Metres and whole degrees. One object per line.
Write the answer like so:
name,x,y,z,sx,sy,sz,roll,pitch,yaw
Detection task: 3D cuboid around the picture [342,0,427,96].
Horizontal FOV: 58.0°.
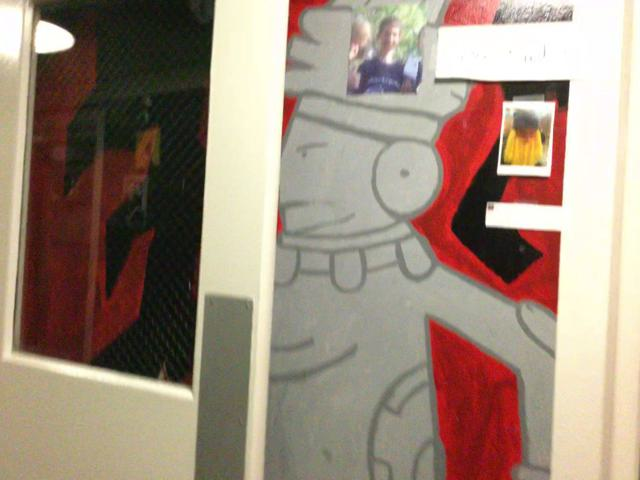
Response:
picture,0.120,-0.360,1.080,0.150,0.170,0.020,1,-4,18

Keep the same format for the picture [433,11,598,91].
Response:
picture,0.340,-0.330,1.020,0.270,0.110,0.030,1,-4,18

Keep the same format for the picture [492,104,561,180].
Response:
picture,0.360,-0.170,1.010,0.110,0.130,0.010,1,-4,18
